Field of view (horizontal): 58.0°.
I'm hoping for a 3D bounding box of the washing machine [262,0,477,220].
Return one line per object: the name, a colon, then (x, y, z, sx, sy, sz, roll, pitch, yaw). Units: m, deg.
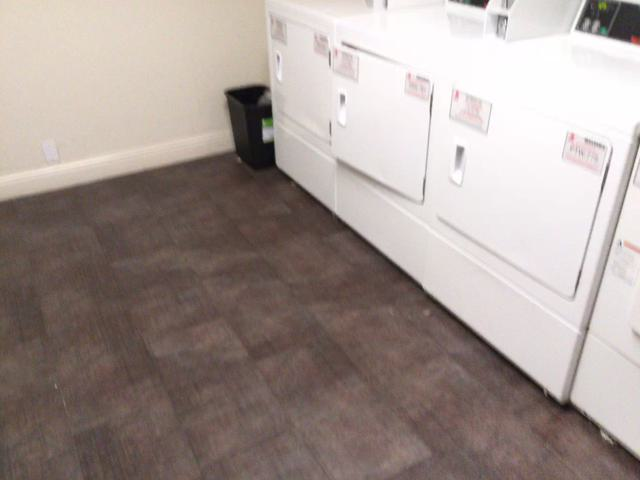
washing machine: (0.220, -0.790, 2.860, 0.710, 1.070, 0.740, -15, 28, -26)
